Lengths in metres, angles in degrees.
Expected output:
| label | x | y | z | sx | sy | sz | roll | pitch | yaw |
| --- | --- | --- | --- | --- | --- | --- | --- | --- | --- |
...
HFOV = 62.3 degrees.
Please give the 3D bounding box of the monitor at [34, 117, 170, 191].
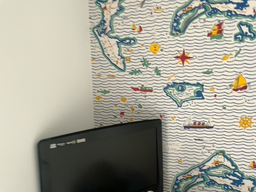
| label | x | y | z | sx | sy | sz | roll | pitch | yaw |
| --- | --- | --- | --- | --- | --- | --- | --- | --- | --- |
| monitor | -0.050 | 0.280 | 0.750 | 0.500 | 0.350 | 0.040 | -5 | 7 | -33 |
